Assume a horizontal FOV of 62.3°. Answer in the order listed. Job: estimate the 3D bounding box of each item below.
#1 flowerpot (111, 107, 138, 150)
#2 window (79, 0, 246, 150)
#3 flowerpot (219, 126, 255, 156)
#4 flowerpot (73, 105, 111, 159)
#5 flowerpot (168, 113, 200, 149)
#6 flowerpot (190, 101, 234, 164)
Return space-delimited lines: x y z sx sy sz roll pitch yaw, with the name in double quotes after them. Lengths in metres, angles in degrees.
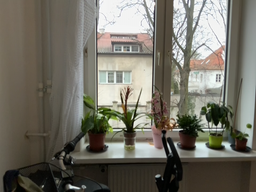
-0.030 0.280 1.880 0.220 0.330 0.210 1 6 0 "flowerpot"
0.310 -0.400 2.010 1.490 1.780 0.220 0 6 -5 "window"
0.980 0.400 1.920 0.210 0.200 0.220 1 6 0 "flowerpot"
-0.300 0.300 1.870 0.300 0.400 0.310 0 6 -4 "flowerpot"
0.500 0.310 1.930 0.220 0.260 0.250 1 6 0 "flowerpot"
0.760 0.320 1.970 0.240 0.510 0.320 0 6 -4 "flowerpot"
